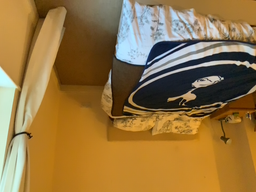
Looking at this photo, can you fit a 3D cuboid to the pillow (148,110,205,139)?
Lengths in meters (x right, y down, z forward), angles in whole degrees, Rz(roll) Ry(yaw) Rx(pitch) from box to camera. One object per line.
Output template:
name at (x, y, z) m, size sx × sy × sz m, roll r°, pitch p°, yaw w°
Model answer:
pillow at (0.670, 0.410, 3.010) m, size 0.700 × 0.110 × 0.410 m, roll 4°, pitch 126°, yaw -11°

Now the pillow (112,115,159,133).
pillow at (0.090, 0.380, 2.860) m, size 0.570 × 0.160 × 0.290 m, roll 2°, pitch 156°, yaw -10°
